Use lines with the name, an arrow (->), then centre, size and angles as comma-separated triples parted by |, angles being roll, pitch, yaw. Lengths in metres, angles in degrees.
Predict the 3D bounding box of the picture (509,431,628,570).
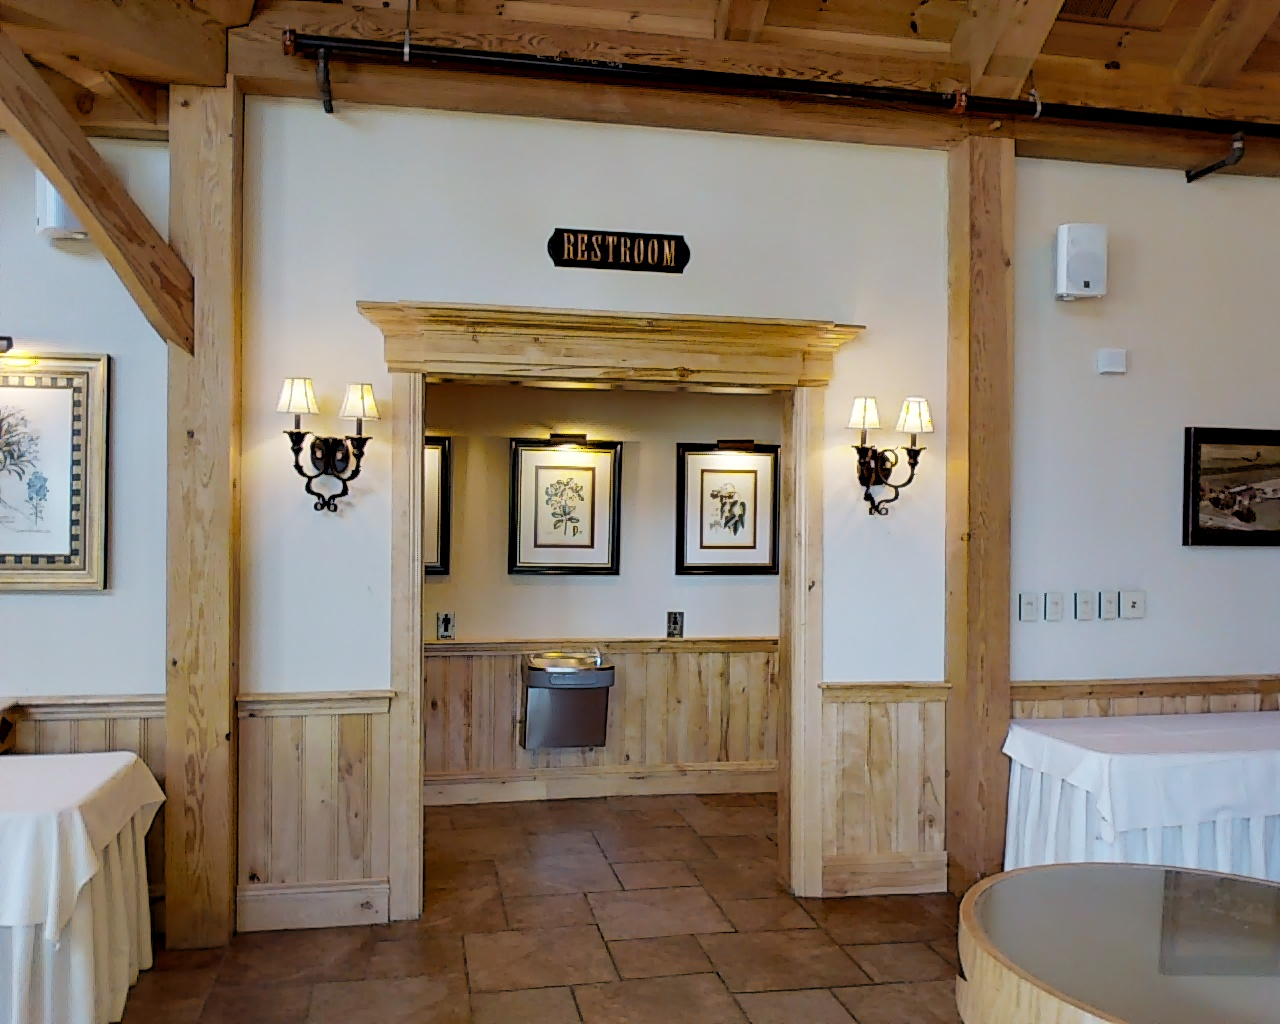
picture -> -0.400, -0.060, 6.010 | 0.650, 0.760, 0.060 | 1, 0, -11

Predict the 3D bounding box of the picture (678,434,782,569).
picture -> 0.520, -0.060, 6.190 | 0.600, 0.770, 0.050 | 0, 0, -11
